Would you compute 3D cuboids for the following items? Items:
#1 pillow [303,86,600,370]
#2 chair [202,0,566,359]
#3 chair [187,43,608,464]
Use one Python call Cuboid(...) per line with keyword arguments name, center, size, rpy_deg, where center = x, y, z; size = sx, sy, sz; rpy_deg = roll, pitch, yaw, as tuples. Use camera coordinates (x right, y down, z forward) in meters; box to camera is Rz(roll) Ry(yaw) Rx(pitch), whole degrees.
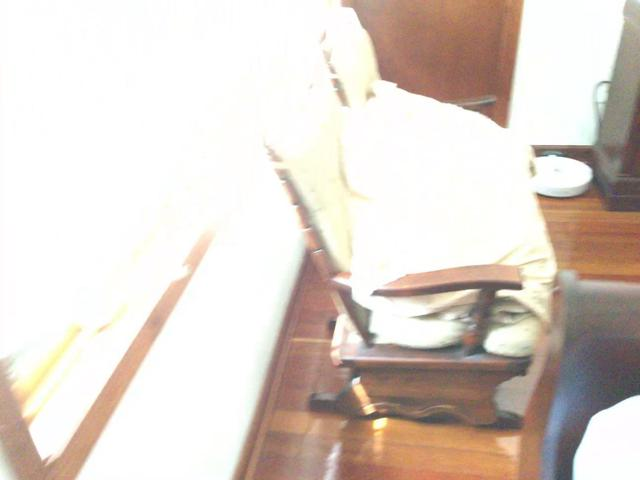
Cuboid(name="pillow", center=(0.340, -0.070, 1.600), size=(0.610, 0.520, 0.600), rpy_deg=(2, 33, 12))
Cuboid(name="chair", center=(0.260, -0.270, 2.120), size=(0.950, 1.000, 0.850), rpy_deg=(2, 33, 12))
Cuboid(name="chair", center=(0.220, 0.020, 1.640), size=(0.820, 0.950, 0.620), rpy_deg=(2, 33, 12))
